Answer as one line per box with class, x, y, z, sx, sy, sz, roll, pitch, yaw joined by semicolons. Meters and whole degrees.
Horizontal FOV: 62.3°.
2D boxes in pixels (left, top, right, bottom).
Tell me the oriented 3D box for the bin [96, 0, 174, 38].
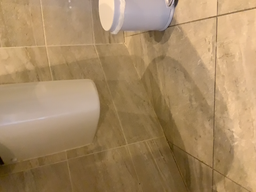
bin;0.020;-0.320;0.820;0.200;0.230;0.180;-152;58;-61
